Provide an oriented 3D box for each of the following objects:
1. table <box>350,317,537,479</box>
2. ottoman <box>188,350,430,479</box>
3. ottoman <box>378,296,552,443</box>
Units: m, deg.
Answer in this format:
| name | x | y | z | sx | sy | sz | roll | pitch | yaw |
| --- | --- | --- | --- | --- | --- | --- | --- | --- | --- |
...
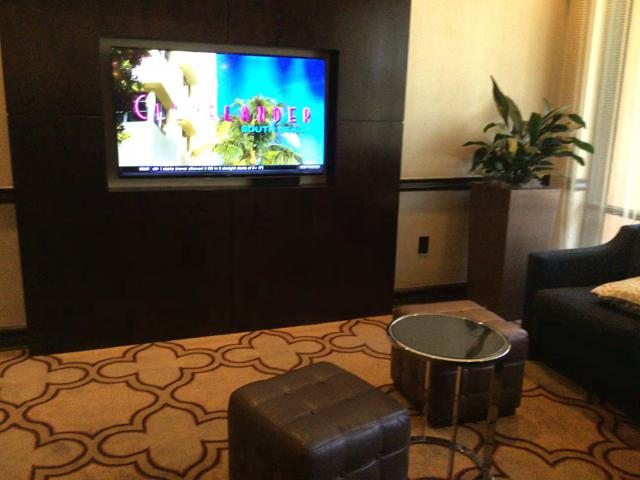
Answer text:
| name | x | y | z | sx | sy | sz | roll | pitch | yaw |
| --- | --- | --- | --- | --- | --- | --- | --- | --- | --- |
| table | 0.440 | 0.670 | 2.200 | 0.510 | 0.600 | 0.420 | -2 | 13 | -18 |
| ottoman | -0.050 | 0.770 | 2.050 | 0.590 | 0.450 | 0.600 | -9 | 17 | -40 |
| ottoman | 0.670 | 0.590 | 2.810 | 0.560 | 0.440 | 0.590 | -2 | 13 | -18 |
